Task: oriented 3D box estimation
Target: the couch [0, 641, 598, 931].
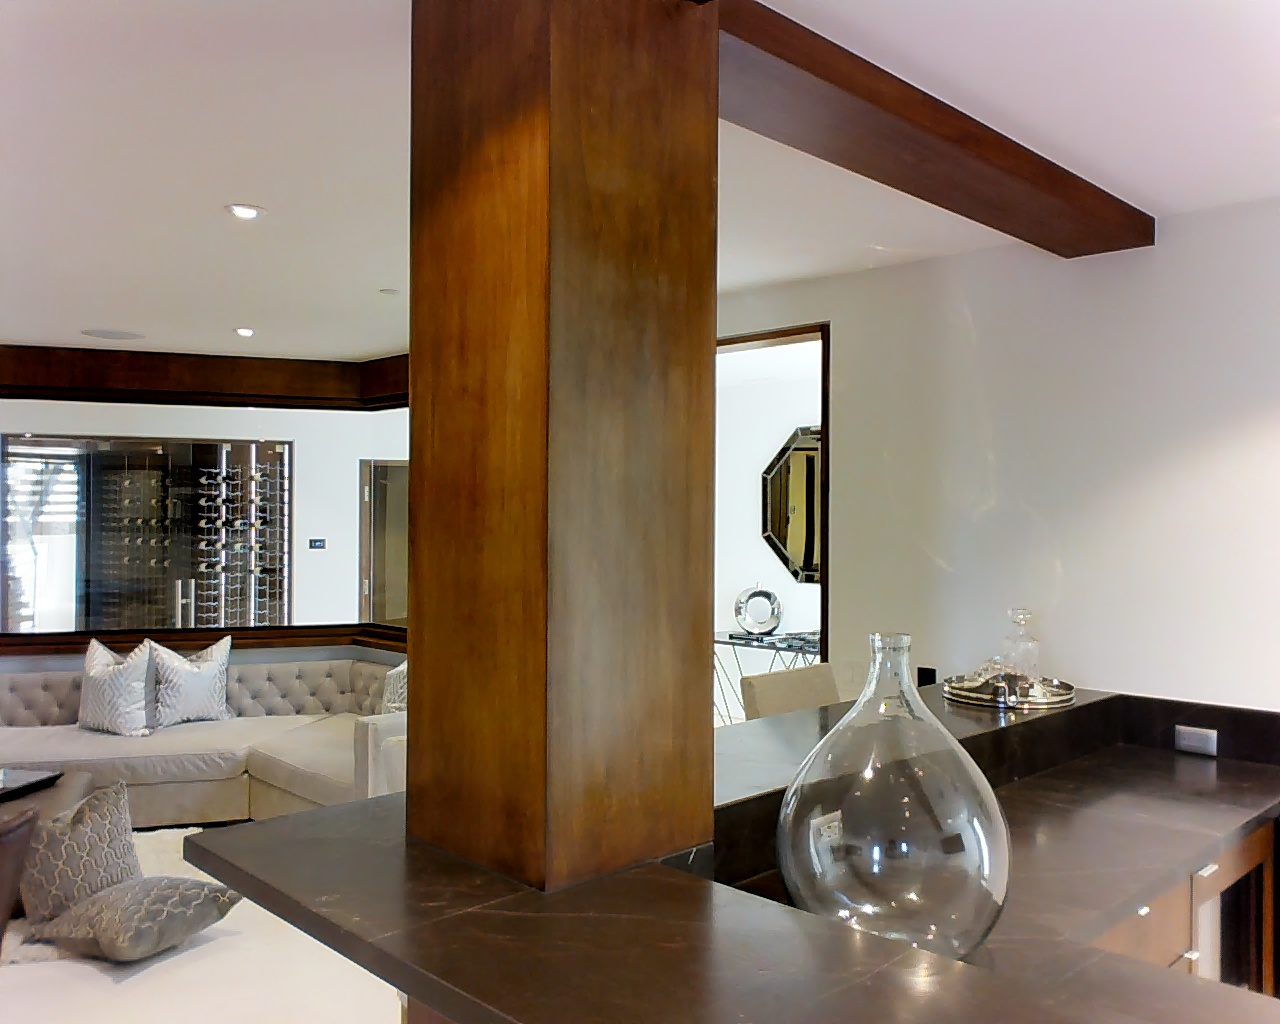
[{"bbox_3d":[-2.700,1.240,5.340,4.510,0.800,2.250,1,0,-19],"label":"couch"}]
